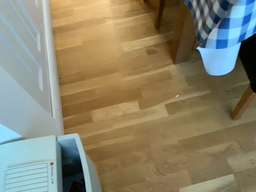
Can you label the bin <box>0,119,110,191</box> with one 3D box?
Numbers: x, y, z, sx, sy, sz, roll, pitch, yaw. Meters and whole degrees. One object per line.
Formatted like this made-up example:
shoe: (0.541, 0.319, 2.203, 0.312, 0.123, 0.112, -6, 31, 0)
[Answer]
bin: (-0.240, 0.370, 0.780, 0.290, 0.490, 0.360, -13, 63, -3)
